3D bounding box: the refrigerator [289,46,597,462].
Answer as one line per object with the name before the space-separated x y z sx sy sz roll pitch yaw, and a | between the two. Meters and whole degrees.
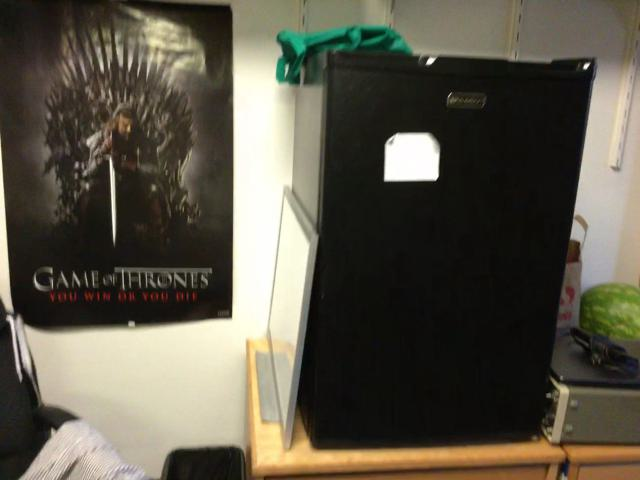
refrigerator | 0.220 0.030 1.230 0.540 0.800 0.230 0 13 -9
